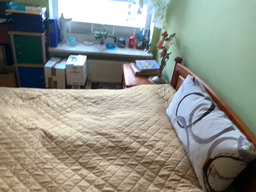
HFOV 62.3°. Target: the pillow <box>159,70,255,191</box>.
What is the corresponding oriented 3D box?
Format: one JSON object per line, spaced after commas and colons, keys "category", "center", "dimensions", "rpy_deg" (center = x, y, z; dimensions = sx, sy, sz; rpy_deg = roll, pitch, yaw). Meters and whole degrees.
{"category": "pillow", "center": [0.410, 0.160, 1.230], "dimensions": [0.230, 0.340, 0.700], "rpy_deg": [3, 32, -9]}
